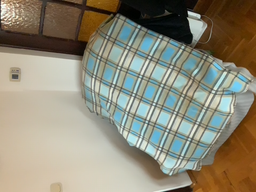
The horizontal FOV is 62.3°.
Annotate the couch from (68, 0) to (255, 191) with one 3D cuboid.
[{"bbox_3d":[0.200,-0.050,1.730,1.040,1.020,0.960,58,137,44],"label":"couch"}]
